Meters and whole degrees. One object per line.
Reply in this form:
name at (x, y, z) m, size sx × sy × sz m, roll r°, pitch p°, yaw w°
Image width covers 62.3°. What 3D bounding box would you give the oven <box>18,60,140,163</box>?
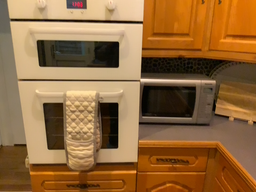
oven at (-0.250, 0.050, 1.380) m, size 0.580 × 0.470 × 0.610 m, roll 1°, pitch 17°, yaw -3°
